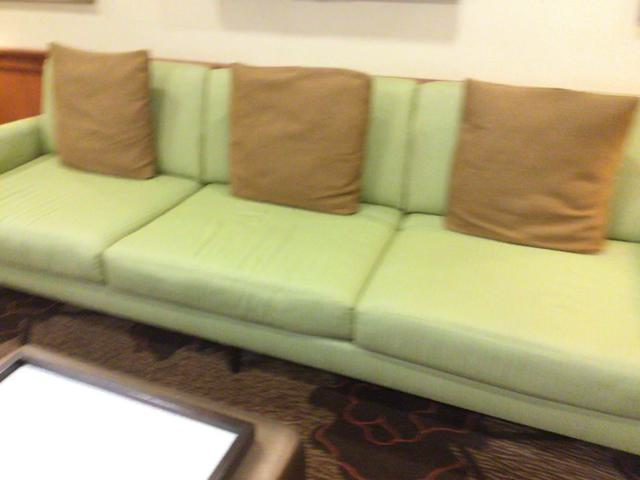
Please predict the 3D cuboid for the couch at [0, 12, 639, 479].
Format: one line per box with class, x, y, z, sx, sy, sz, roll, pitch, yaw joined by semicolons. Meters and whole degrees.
couch;-0.200;-0.180;2.140;3.080;0.900;1.170;13;26;16
